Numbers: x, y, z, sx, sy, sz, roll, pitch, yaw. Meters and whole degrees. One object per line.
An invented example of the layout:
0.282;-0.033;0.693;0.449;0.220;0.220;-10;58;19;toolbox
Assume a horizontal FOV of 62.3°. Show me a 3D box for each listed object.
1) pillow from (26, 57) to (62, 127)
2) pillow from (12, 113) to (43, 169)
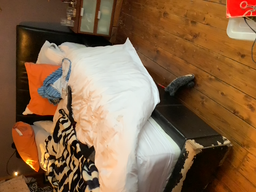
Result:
-0.960;-0.040;2.380;0.260;0.320;0.730;50;134;47;pillow
-1.390;0.610;2.920;0.390;0.330;0.620;50;134;47;pillow
